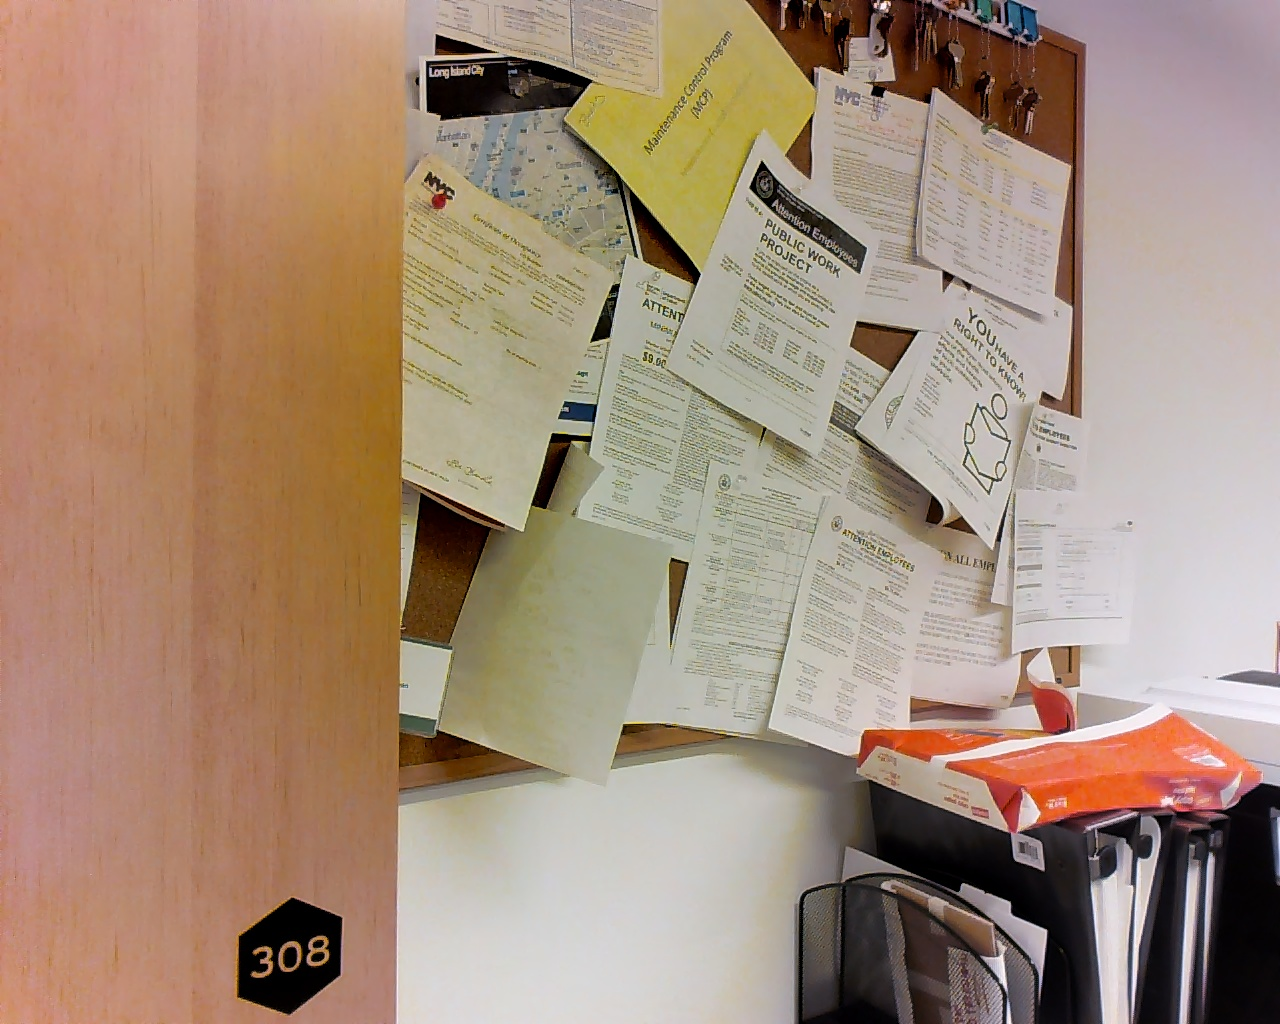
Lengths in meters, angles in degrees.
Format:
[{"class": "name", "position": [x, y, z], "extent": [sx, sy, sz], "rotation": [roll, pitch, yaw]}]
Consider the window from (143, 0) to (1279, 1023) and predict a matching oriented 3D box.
[{"class": "window", "position": [0.880, -0.430, 1.600], "extent": [2.940, 2.170, 0.230], "rotation": [1, 0, -36]}]
